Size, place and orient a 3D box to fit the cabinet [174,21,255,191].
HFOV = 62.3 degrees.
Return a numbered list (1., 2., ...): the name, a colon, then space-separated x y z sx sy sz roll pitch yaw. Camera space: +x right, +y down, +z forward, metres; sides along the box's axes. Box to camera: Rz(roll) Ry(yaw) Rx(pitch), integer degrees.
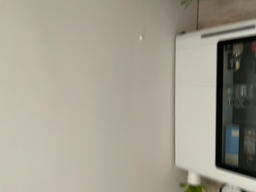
1. cabinet: 0.770 0.070 1.490 0.360 1.040 0.800 -3 -175 -41
